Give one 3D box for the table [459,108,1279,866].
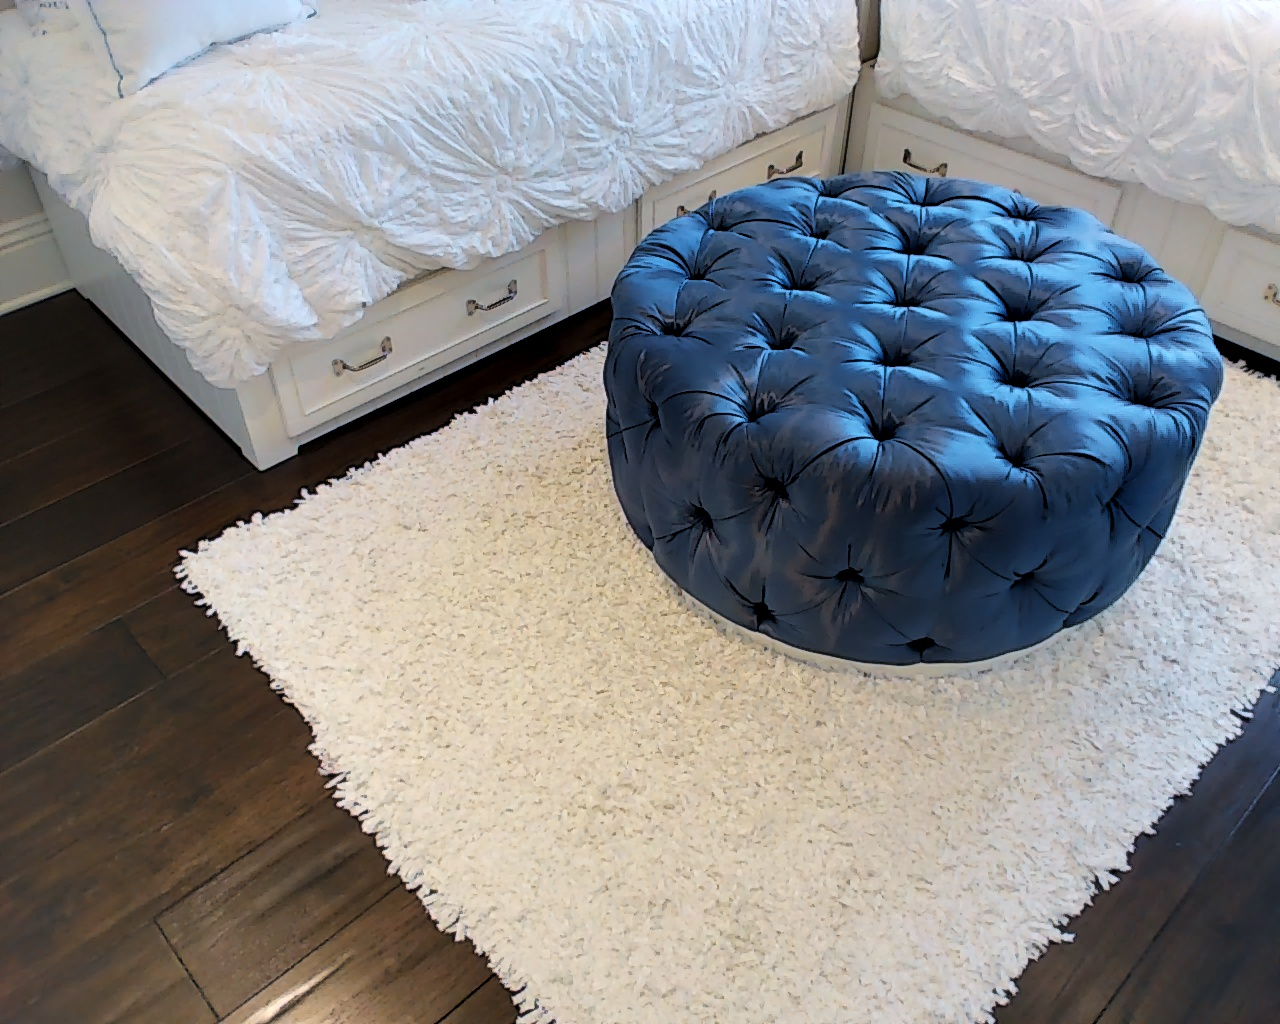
[{"bbox_3d":[0.510,-0.210,2.110,1.190,0.520,1.200,-31,50,-29],"label":"table"}]
